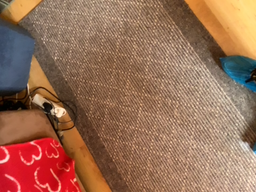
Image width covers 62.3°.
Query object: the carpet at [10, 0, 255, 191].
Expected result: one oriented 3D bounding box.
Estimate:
[{"bbox_3d":[0.410,0.520,0.920,0.880,0.050,2.820,-32,81,12],"label":"carpet"}]
